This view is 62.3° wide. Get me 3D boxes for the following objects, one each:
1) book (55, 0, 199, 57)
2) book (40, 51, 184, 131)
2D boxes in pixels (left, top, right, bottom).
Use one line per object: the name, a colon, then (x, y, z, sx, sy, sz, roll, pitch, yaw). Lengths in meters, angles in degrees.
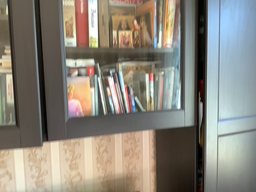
book: (-0.030, -0.330, 0.920, 0.520, 0.280, 0.370, -3, 6, -20)
book: (-0.080, -0.040, 0.930, 0.520, 0.260, 0.350, -3, 6, -17)
